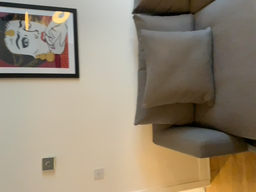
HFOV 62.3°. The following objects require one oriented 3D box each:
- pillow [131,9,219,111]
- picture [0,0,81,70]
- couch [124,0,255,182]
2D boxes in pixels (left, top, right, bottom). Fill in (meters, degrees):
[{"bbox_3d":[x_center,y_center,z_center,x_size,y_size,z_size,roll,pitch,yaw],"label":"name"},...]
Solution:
[{"bbox_3d":[0.360,-0.250,1.580,0.160,0.510,0.580,163,126,-71],"label":"pillow"},{"bbox_3d":[-0.800,-0.510,1.750,0.020,0.790,0.570,163,105,-69],"label":"picture"},{"bbox_3d":[0.540,-0.720,1.680,1.070,0.820,2.290,168,100,-70],"label":"couch"}]
